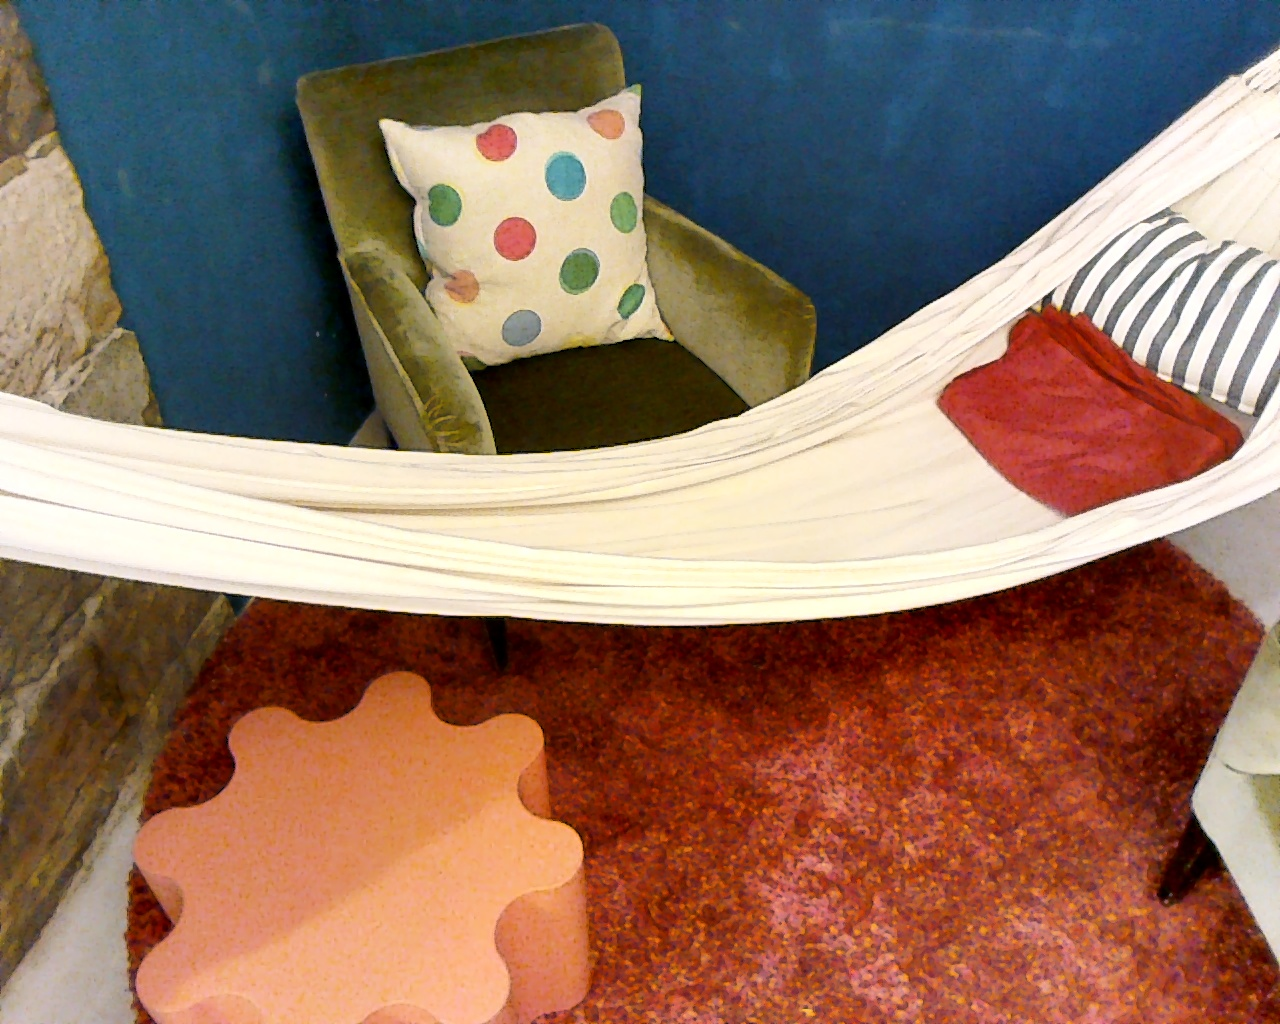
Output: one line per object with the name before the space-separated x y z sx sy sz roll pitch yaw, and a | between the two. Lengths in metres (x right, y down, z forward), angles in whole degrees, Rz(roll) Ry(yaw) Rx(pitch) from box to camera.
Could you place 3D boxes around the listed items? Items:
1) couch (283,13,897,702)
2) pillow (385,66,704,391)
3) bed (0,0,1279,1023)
couch | -0.110 -0.300 1.900 0.700 0.810 0.720 -18 45 -19
pillow | -0.150 -0.490 1.860 0.440 0.390 0.180 -23 40 -13
bed | 0.220 -0.210 1.170 2.559 0.980 0.680 -24 47 -23
